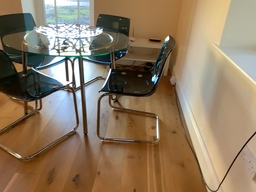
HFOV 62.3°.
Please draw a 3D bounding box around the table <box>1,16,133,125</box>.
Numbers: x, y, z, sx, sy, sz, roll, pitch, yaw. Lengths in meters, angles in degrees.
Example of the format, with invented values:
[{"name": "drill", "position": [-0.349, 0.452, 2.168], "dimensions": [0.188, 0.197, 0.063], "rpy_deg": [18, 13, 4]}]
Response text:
[{"name": "table", "position": [-0.500, -0.320, 2.200], "dimensions": [0.980, 0.770, 0.850], "rpy_deg": [7, 29, 3]}]
